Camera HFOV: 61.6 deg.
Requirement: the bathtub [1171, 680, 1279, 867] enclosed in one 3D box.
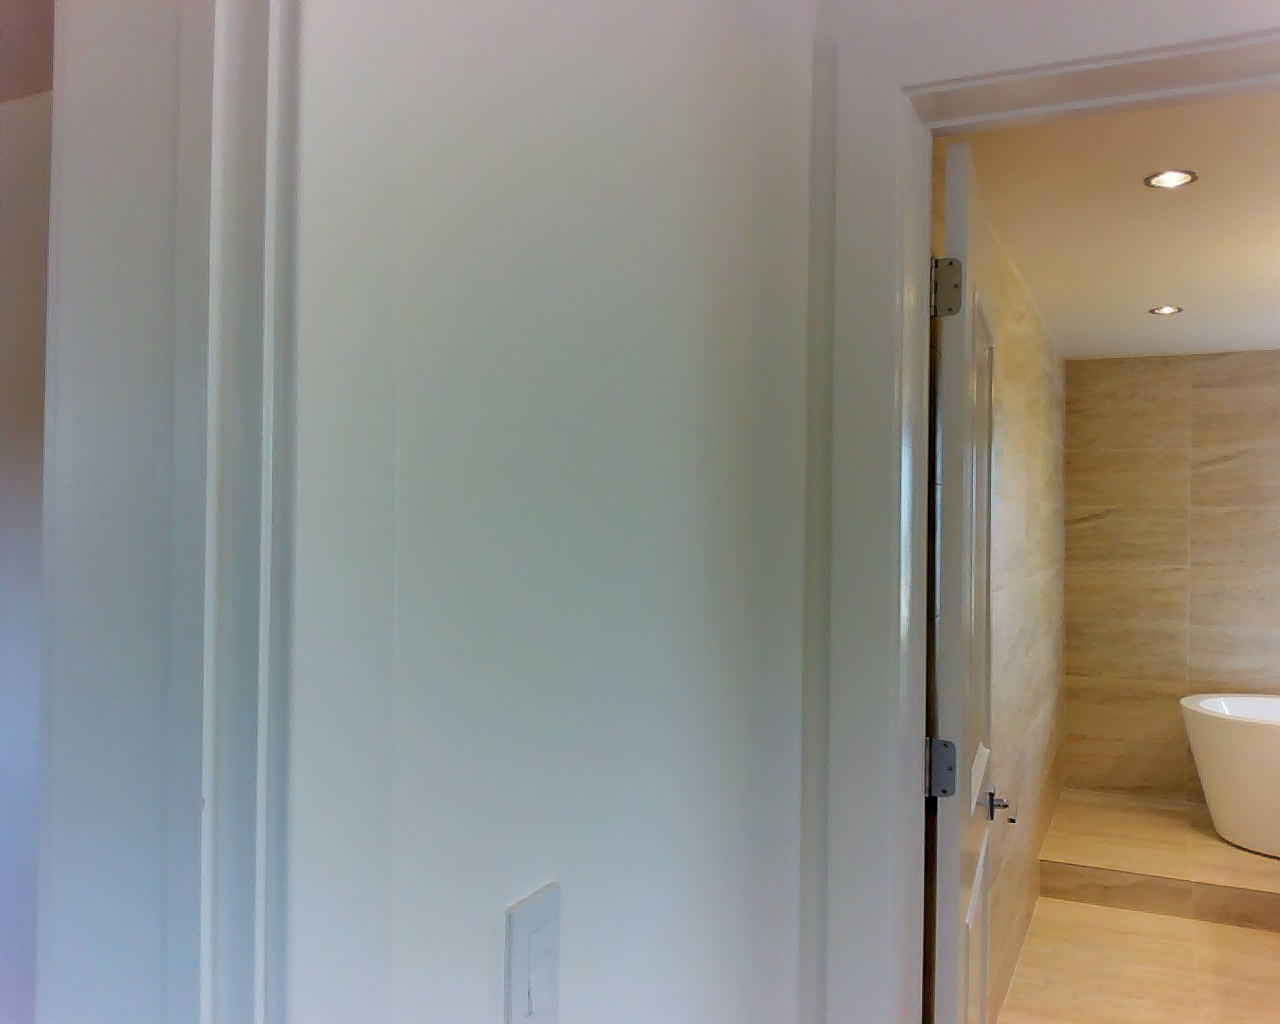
[{"bbox_3d":[3.340,1.160,4.530,1.890,0.620,0.920,0,0,31],"label":"bathtub"}]
